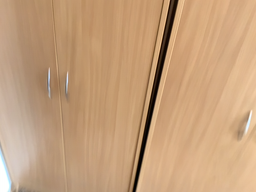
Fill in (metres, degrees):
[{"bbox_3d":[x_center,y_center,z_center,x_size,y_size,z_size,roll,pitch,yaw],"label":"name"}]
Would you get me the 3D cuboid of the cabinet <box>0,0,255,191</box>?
[{"bbox_3d":[0.160,-0.090,1.170,1.660,1.820,0.690,11,33,7],"label":"cabinet"}]
